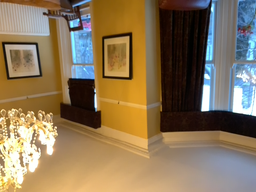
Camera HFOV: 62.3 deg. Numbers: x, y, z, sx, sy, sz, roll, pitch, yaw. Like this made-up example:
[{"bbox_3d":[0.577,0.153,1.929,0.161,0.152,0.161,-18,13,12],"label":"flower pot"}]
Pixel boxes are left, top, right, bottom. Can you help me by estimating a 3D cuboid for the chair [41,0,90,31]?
[{"bbox_3d":[-1.260,-1.850,4.250,0.570,0.970,0.730,10,-164,43],"label":"chair"}]
